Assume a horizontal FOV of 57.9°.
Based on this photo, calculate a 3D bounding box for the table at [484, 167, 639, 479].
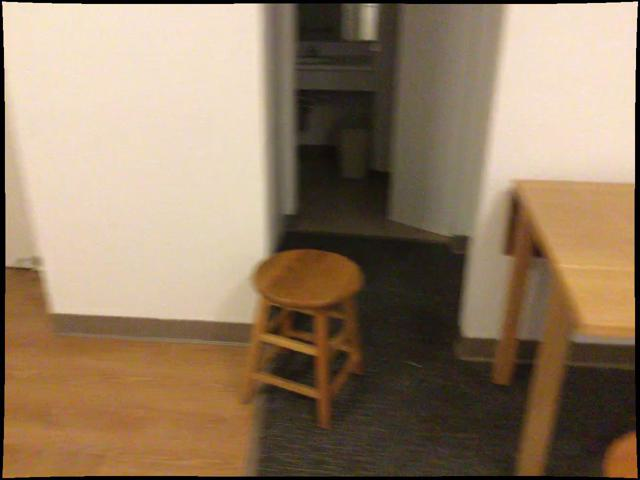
[{"bbox_3d":[0.959,0.320,1.570,0.809,0.751,0.980,2,25,7],"label":"table"}]

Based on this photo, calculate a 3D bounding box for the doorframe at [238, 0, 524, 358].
[{"bbox_3d":[0.190,-0.490,1.920,0.829,1.912,0.250,2,25,7],"label":"doorframe"}]

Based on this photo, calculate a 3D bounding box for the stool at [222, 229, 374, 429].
[{"bbox_3d":[-0.040,0.280,2.000,0.430,0.460,0.510,2,25,7],"label":"stool"}]
